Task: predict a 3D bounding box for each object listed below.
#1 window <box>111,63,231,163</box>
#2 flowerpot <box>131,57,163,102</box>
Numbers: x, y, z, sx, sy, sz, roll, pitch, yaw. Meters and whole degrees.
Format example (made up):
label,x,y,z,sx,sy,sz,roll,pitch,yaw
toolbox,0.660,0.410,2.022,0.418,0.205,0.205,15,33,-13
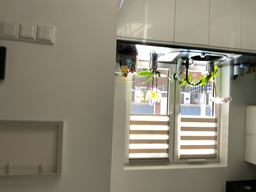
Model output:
label,x,y,z,sx,sy,sz,roll,pitch,yaw
window,0.630,0.260,2.960,1.650,1.290,0.160,3,179,-11
flowerpot,0.240,-0.200,2.780,0.300,0.540,0.320,3,179,-13
